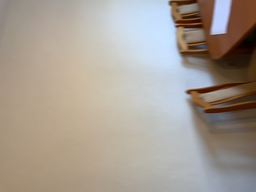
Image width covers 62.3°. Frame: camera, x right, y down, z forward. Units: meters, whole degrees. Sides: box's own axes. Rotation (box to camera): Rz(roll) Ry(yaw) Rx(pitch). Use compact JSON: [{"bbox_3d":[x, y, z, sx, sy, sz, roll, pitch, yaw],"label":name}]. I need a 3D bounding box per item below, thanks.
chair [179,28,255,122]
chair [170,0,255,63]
[{"bbox_3d":[0.970,-0.150,1.570,0.410,0.980,0.540,-105,19,-61],"label":"chair"},{"bbox_3d":[0.940,-0.600,1.830,0.540,0.980,0.360,112,157,-66],"label":"chair"}]
